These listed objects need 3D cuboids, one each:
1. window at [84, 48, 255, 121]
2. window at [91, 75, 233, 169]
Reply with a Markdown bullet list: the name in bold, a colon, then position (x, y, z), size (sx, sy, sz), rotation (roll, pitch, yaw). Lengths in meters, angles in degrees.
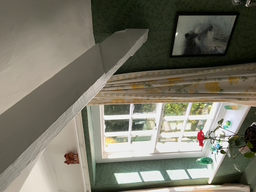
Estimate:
- **window**: position (0.420, -0.090, 1.500), size (0.350, 1.400, 0.320), rotation (95, 171, -49)
- **window**: position (0.280, 0.290, 2.250), size (0.370, 1.250, 0.940), rotation (-100, 10, -51)
